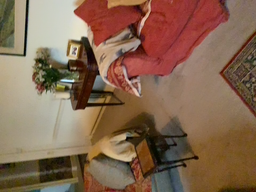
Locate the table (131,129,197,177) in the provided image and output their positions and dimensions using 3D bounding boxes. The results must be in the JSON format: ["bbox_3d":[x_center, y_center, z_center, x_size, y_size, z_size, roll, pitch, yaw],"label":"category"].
[{"bbox_3d":[0.320,0.510,1.940,0.240,0.470,0.290,-59,41,43],"label":"table"}]

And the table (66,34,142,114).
[{"bbox_3d":[-0.390,-0.260,2.980,0.960,0.730,0.500,-63,39,40],"label":"table"}]

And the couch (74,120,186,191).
[{"bbox_3d":[0.040,1.370,2.160,1.060,0.740,1.980,-42,54,54],"label":"couch"}]
